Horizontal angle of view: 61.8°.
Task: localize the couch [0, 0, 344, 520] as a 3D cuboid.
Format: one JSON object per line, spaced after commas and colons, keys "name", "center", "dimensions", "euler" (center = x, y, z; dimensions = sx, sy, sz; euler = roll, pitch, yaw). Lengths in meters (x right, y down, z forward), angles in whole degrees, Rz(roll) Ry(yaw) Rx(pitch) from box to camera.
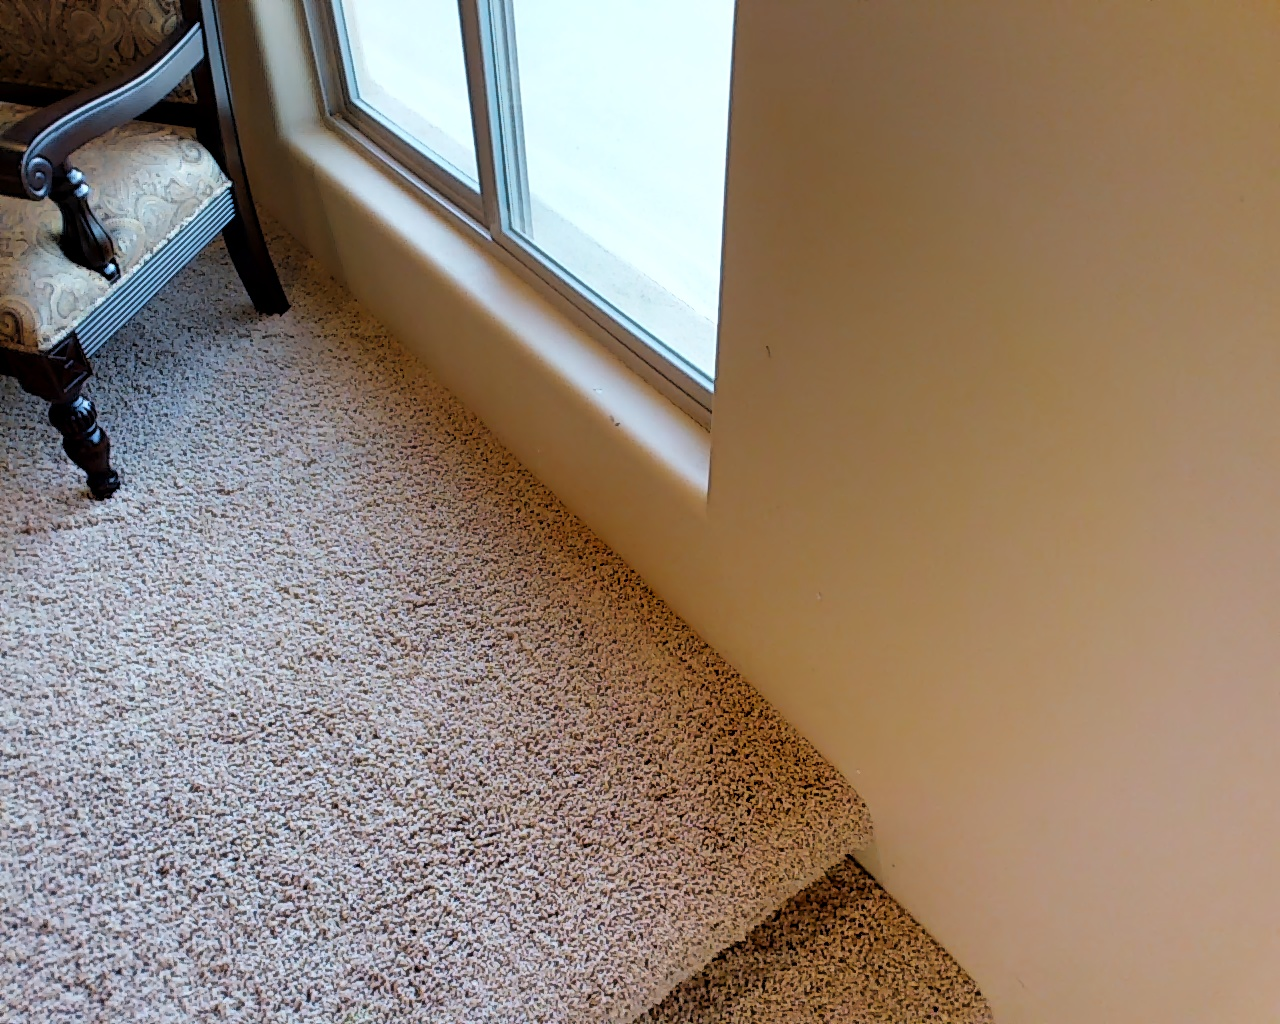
{"name": "couch", "center": [-1.180, -0.700, 1.900], "dimensions": [0.790, 0.980, 0.850], "euler": [12, 45, 12]}
